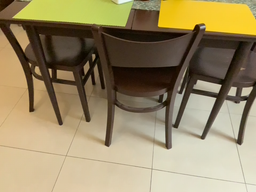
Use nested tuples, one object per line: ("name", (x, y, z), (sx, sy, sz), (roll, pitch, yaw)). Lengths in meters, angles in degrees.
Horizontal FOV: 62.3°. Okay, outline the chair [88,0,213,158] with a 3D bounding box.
("chair", (0.050, -0.090, 1.140), (0.420, 0.760, 0.480), (-3, 45, -5))
